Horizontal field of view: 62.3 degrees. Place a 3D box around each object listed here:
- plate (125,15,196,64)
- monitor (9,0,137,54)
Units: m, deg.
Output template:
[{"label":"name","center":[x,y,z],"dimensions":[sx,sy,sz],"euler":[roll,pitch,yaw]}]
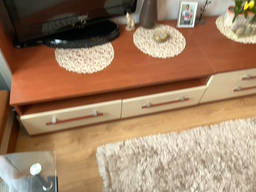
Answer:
[{"label":"plate","center":[0.220,-0.420,1.520],"dimensions":[0.340,0.040,0.420],"euler":[-17,56,-19]},{"label":"monitor","center":[-0.270,-0.600,1.240],"dimensions":[0.770,0.580,0.060],"euler":[-23,58,-22]}]
